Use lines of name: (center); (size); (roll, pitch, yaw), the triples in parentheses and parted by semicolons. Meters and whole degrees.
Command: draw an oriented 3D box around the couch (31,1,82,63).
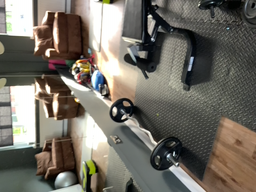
couch: (-1.590, -1.310, 4.630); (0.930, 0.860, 0.970); (-8, 86, 62)
